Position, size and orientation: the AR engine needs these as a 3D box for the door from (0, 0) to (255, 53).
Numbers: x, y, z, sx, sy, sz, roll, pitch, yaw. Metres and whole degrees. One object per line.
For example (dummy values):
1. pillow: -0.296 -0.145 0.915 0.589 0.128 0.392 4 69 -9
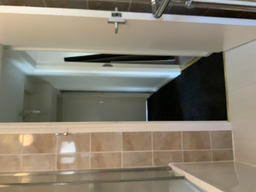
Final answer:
1. door: 0.010 -0.450 1.520 0.640 1.890 0.110 -167 78 -82
